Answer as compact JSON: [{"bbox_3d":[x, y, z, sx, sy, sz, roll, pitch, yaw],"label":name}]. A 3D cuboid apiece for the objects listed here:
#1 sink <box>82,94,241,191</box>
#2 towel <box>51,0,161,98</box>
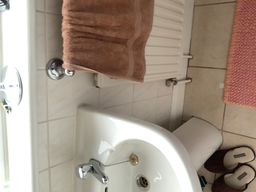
[{"bbox_3d":[0.060,0.320,0.670,0.430,0.170,0.580,11,104,37],"label":"sink"},{"bbox_3d":[-0.040,-0.230,0.670,0.080,0.400,0.420,12,104,37],"label":"towel"}]
